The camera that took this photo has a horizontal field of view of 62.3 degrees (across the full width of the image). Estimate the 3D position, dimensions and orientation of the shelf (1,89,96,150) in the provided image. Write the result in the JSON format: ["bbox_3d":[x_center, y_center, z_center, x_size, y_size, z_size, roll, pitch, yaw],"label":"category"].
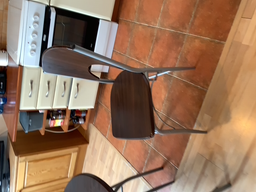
[{"bbox_3d":[-0.880,0.210,2.360,0.520,0.820,0.410,32,115,45],"label":"shelf"}]

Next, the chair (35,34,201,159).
[{"bbox_3d":[-0.020,0.020,1.260,0.410,0.880,0.490,-12,81,50],"label":"chair"}]
